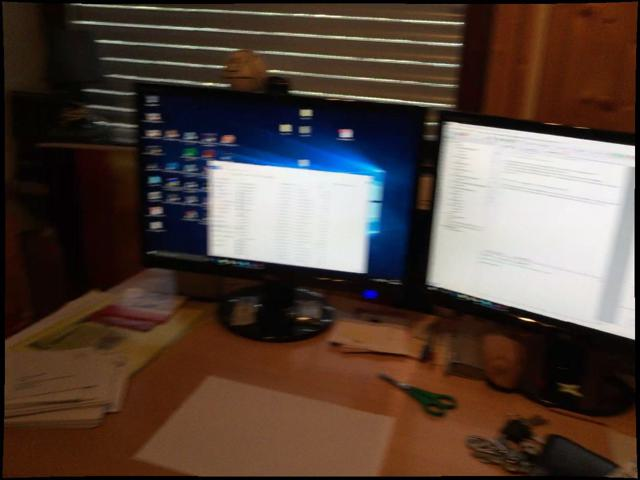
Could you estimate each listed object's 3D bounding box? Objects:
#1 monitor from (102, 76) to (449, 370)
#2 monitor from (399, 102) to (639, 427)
[{"bbox_3d":[-0.070,-0.050,1.060,0.529,0.430,0.260,6,21,6],"label":"monitor"},{"bbox_3d":[0.420,0.030,0.920,0.510,0.420,0.180,13,23,25],"label":"monitor"}]
